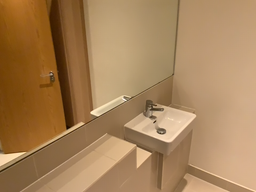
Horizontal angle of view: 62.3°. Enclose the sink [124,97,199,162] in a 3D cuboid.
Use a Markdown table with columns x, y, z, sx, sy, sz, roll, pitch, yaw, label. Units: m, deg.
| x | y | z | sx | sy | sz | roll | pitch | yaw | label |
| --- | --- | --- | --- | --- | --- | --- | --- | --- | --- |
| 0.260 | 0.210 | 1.560 | 0.340 | 0.170 | 0.500 | 16 | 28 | 33 | sink |
